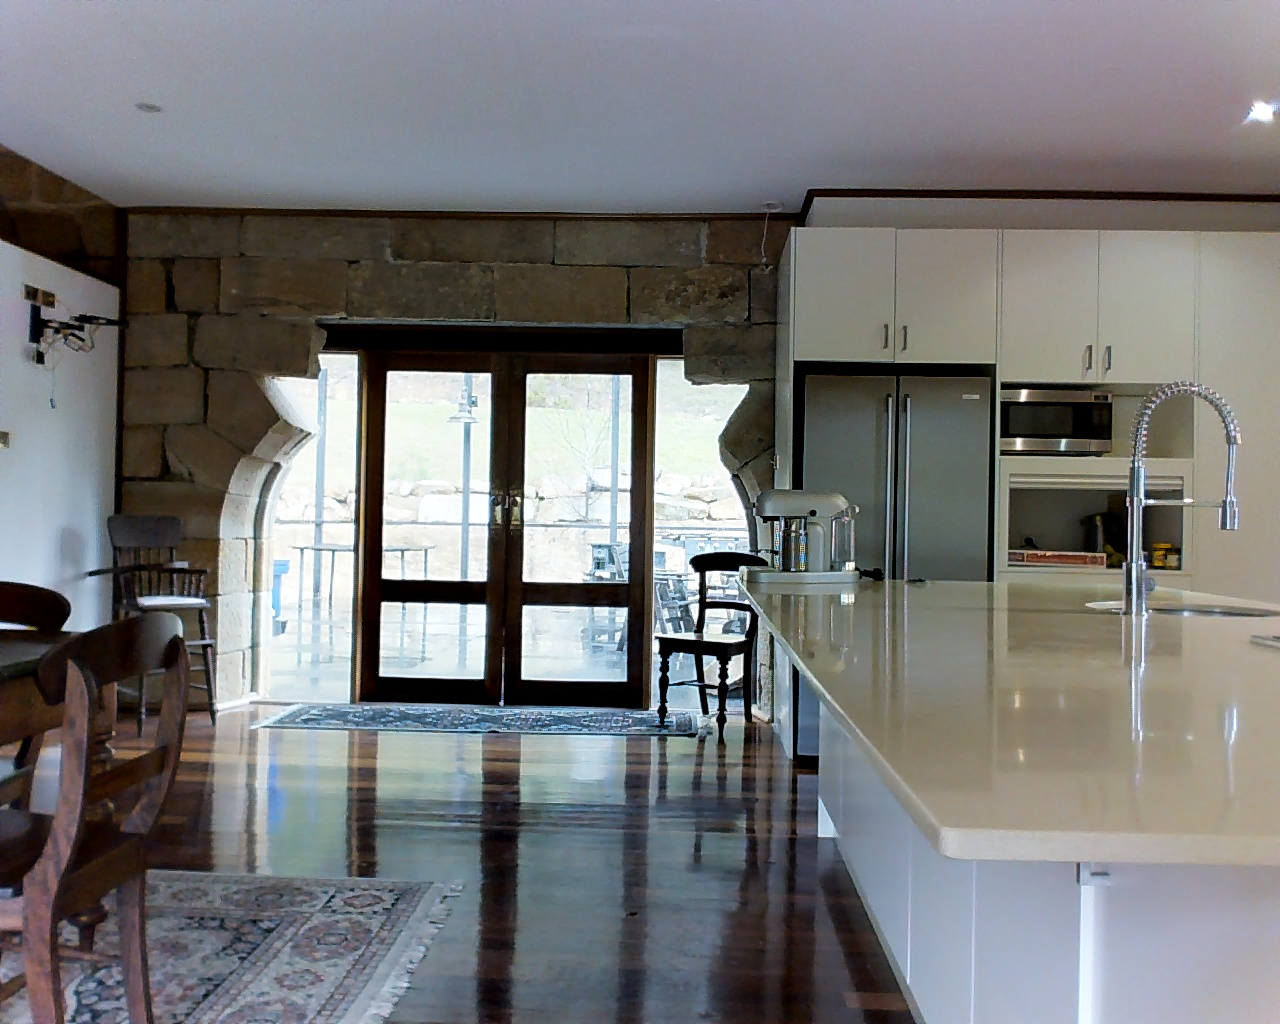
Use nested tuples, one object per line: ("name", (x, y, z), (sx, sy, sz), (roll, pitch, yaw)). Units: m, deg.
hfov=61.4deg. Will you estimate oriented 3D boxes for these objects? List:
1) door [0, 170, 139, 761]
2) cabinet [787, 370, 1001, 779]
("door", (-2.839, -0.190, 5.230), (0.090, 2.601, 1.290), (1, -1, 3))
("cabinet", (1.149, 0.270, 5.040), (0.830, 1.751, 0.760), (1, -1, 3))
